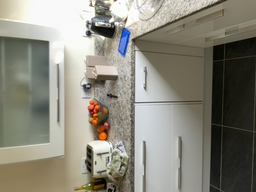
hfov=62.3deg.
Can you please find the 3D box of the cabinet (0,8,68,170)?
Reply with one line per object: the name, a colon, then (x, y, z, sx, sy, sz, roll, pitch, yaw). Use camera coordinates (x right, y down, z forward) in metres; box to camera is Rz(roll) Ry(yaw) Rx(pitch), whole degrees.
cabinet: (-0.880, -0.050, 1.620, 0.340, 0.740, 1.100, 3, 94, 62)
